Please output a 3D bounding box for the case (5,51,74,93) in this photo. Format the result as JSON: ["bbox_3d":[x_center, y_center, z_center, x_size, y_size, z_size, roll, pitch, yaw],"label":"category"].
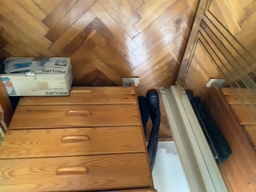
[{"bbox_3d":[-0.420,-0.120,1.050,0.270,0.150,0.140,-2,133,-6],"label":"case"}]
